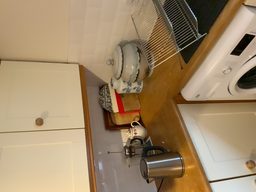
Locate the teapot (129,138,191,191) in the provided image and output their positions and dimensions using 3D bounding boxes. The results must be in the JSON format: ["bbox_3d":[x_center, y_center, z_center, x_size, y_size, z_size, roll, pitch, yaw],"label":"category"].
[{"bbox_3d":[0.180,0.430,1.280,0.200,0.250,0.260,113,149,-50],"label":"teapot"}]
